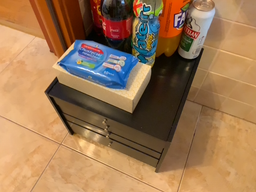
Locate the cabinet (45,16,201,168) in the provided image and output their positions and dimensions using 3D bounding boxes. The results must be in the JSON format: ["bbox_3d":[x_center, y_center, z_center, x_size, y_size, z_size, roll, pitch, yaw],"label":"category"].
[{"bbox_3d":[0.000,-0.010,0.740,0.350,0.300,0.320,21,60,12],"label":"cabinet"}]
